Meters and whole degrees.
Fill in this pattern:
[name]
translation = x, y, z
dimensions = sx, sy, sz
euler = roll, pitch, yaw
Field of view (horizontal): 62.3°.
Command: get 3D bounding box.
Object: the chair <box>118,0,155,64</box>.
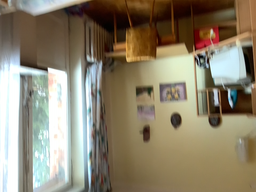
[chair]
translation = 0.130, -0.880, 2.910
dimensions = 0.410, 0.770, 0.460
euler = -3, 177, 12

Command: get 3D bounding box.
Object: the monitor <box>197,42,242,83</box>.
[monitor]
translation = 1.150, -0.390, 2.650
dimensions = 0.430, 0.400, 0.420
euler = -4, 177, 33
